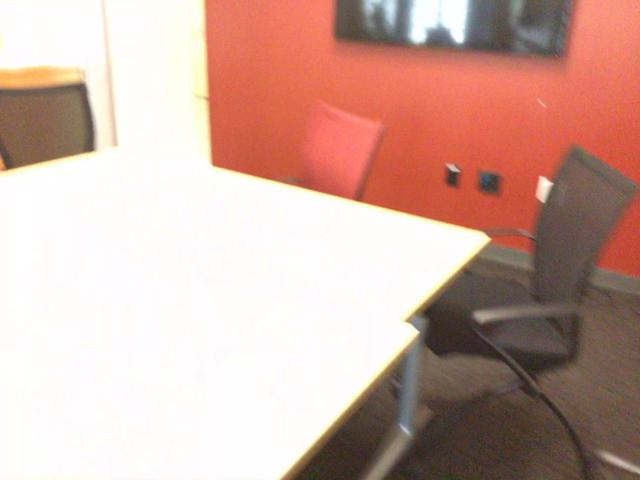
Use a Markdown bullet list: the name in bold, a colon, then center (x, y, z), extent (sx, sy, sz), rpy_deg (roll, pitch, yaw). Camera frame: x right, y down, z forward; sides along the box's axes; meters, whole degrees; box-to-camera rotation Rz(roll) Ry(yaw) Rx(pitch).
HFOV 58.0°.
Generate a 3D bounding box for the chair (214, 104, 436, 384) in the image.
- **chair**: center (-0.020, -0.040, 2.220), extent (0.580, 0.870, 0.570), rpy_deg (-9, 23, -32)

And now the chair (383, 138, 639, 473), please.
- **chair**: center (0.590, 0.180, 1.750), extent (0.650, 0.860, 0.490), rpy_deg (2, 20, -4)

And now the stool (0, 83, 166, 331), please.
- **stool**: center (-1.050, -0.180, 2.490), extent (0.570, 0.890, 0.460), rpy_deg (16, 23, 30)
